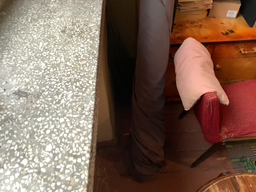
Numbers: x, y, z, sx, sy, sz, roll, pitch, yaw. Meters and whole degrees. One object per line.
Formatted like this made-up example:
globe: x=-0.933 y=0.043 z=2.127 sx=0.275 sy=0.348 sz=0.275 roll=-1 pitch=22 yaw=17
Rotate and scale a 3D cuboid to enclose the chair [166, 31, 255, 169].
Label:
chair: x=0.590 y=0.070 z=1.290 sx=0.560 sy=0.750 sz=0.460 roll=-2 pitch=51 yaw=0
